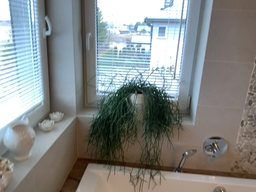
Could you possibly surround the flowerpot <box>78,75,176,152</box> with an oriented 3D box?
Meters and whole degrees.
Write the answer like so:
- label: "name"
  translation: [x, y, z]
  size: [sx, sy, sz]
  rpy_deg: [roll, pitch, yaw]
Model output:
- label: "flowerpot"
  translation: [0.000, 0.110, 1.600]
  size: [0.650, 0.420, 0.330]
  rpy_deg: [6, 18, 8]
